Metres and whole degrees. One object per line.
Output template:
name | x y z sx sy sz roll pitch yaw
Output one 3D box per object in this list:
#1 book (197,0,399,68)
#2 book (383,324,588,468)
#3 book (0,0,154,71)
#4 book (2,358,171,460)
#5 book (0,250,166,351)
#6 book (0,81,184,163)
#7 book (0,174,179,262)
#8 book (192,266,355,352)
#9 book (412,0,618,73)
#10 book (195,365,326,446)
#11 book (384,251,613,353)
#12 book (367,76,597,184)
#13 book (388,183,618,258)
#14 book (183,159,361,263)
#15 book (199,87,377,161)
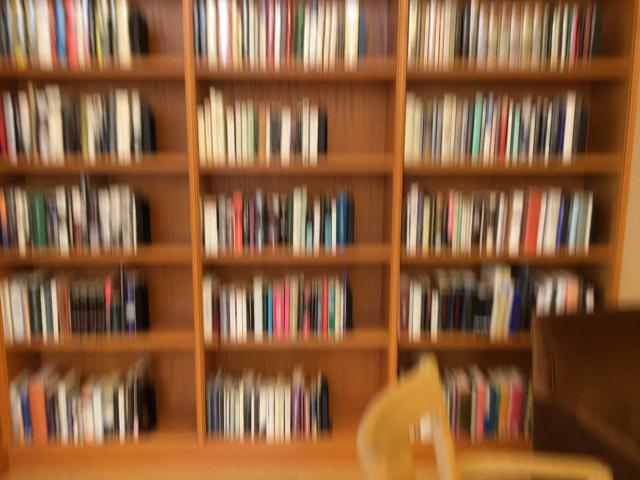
book | -0.080 -0.820 2.210 0.740 0.290 0.160 0 9 1
book | 0.670 0.650 2.480 0.750 0.480 0.390 0 9 0
book | -0.970 -0.840 2.170 0.600 0.360 0.270 0 9 0
book | -0.970 0.710 2.470 0.570 0.310 0.330 0 9 0
book | -0.980 0.240 2.390 0.580 0.340 0.330 0 9 0
book | -0.900 -0.450 2.240 0.680 0.290 0.240 0 9 1
book | -0.930 -0.100 2.350 0.620 0.320 0.320 0 9 1
book | -0.180 0.280 2.430 0.640 0.290 0.290 0 9 0
book | 0.730 -0.800 2.240 0.700 0.260 0.270 0 9 0
book | -0.240 0.710 2.510 0.530 0.230 0.310 0 9 0
book | 0.720 0.250 2.440 0.860 0.360 0.300 0 9 0
book | 0.610 -0.430 2.310 0.820 0.390 0.310 0 9 1
book | 0.720 -0.090 2.380 0.840 0.270 0.310 0 9 0
book | -0.180 -0.130 2.380 0.680 0.400 0.300 0 9 1
book | -0.120 -0.450 2.270 0.670 0.270 0.160 0 9 0
